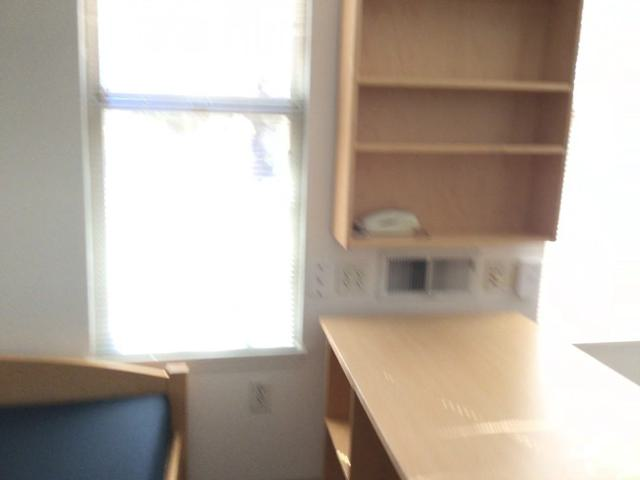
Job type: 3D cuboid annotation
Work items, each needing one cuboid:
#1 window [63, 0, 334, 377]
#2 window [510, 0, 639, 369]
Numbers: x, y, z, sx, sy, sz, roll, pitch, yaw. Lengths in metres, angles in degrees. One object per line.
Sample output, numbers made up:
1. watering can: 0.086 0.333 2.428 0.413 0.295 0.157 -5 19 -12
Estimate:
1. window: -0.380 -0.470 1.950 0.820 1.820 0.250 -1 9 -7
2. window: 1.240 -0.450 2.210 0.860 1.840 0.250 -1 9 -7
